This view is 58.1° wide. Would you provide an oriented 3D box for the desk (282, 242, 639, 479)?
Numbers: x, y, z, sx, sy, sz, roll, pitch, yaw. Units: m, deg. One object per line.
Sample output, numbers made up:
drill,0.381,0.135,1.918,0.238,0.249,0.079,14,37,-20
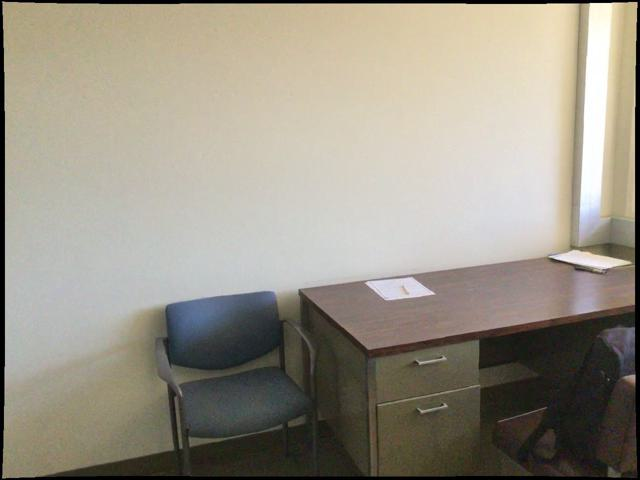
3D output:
desk,0.758,0.561,2.500,1.626,0.782,0.840,-7,12,-19
